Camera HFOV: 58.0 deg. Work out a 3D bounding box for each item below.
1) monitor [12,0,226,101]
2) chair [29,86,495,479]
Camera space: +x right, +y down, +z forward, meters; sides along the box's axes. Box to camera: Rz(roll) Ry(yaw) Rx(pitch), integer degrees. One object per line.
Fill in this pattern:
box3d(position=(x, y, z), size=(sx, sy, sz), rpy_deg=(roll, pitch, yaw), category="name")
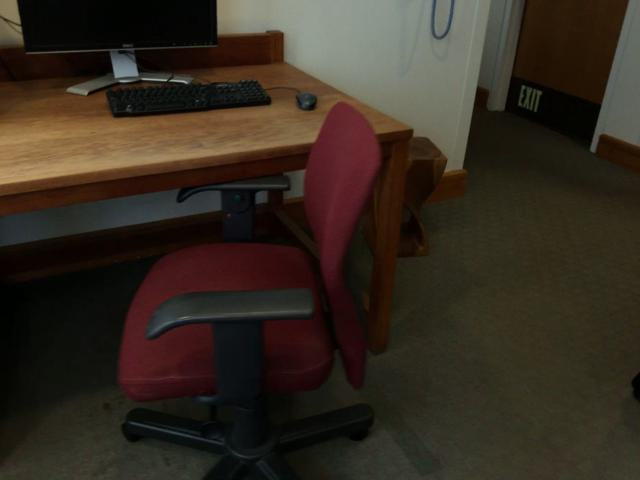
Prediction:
box3d(position=(-0.600, -0.700, 1.720), size=(0.560, 0.480, 0.250), rpy_deg=(-11, 27, -25), category="monitor")
box3d(position=(-0.130, 0.190, 1.270), size=(0.650, 0.920, 0.620), rpy_deg=(-4, 25, -12), category="chair")
